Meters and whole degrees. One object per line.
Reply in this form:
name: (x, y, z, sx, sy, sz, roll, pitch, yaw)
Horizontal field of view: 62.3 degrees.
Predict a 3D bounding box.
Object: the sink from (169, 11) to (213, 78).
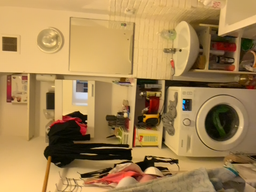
sink: (0.560, -0.440, 1.950, 0.380, 0.210, 0.530, -152, 65, -81)
